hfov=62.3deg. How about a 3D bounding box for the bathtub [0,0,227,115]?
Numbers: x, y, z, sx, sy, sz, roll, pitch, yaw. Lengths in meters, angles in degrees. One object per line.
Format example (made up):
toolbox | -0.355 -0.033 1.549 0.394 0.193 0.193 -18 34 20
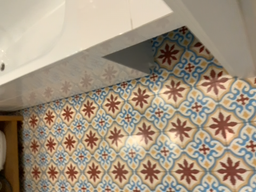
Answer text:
bathtub | -0.620 -0.370 1.360 2.130 0.560 0.740 -12 79 31
